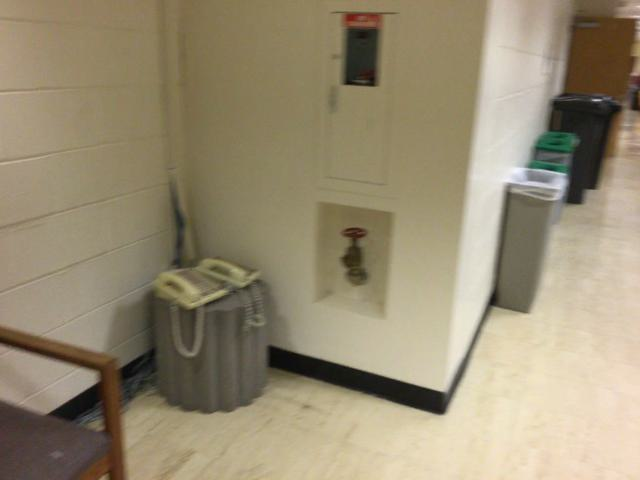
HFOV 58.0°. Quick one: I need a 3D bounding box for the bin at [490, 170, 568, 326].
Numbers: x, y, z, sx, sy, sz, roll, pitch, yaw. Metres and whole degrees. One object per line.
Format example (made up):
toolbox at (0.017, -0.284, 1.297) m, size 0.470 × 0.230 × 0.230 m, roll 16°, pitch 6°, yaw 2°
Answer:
bin at (1.150, 0.030, 3.180) m, size 0.290 × 0.770 × 0.340 m, roll 8°, pitch 16°, yaw 23°
